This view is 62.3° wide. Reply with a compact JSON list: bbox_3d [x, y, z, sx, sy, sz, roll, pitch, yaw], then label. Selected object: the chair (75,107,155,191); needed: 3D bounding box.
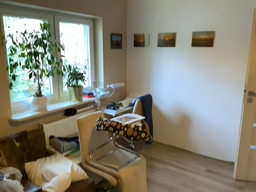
[{"bbox_3d":[-0.140,0.660,2.270,0.670,0.910,0.480,10,16,33],"label":"chair"}]
